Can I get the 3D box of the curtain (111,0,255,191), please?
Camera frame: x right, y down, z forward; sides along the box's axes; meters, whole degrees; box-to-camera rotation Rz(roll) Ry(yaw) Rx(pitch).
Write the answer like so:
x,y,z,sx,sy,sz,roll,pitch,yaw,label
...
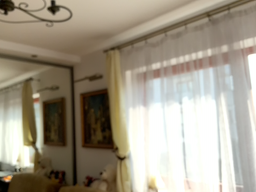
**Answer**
x,y,z,sx,sy,sz,roll,pitch,yaw,label
0.790,0.160,1.630,2.350,1.730,0.220,-9,-8,42,curtain
